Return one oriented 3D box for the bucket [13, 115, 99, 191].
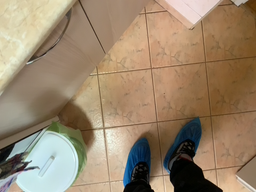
[{"bbox_3d":[-0.320,0.280,1.030,0.180,0.280,0.300,39,91,-2],"label":"bucket"}]
